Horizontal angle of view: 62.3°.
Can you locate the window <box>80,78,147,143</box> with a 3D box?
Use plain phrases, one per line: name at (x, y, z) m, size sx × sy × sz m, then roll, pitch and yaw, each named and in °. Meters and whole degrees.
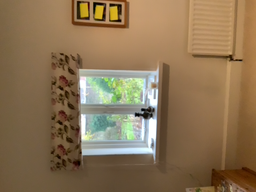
window at (-0.170, 0.170, 2.510) m, size 0.080 × 0.780 × 0.750 m, roll -158°, pitch 69°, yaw -79°
